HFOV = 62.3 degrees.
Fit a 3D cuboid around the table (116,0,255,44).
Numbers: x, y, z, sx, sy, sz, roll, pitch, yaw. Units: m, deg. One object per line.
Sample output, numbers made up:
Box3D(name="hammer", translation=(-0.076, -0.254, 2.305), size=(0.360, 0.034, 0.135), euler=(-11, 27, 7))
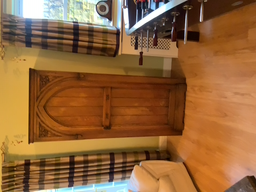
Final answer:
Box3D(name="table", translation=(0.550, -1.040, 1.810), size=(1.640, 0.840, 0.860), euler=(-165, 77, -69))
